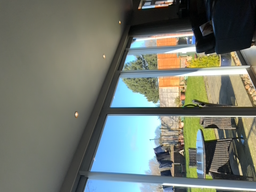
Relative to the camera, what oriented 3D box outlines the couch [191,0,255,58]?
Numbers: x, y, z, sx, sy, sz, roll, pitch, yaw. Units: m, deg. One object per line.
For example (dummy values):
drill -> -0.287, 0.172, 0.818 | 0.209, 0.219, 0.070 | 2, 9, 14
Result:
couch -> 1.580, -1.310, 3.630 | 0.920, 0.860, 0.930 | -76, -18, -50
